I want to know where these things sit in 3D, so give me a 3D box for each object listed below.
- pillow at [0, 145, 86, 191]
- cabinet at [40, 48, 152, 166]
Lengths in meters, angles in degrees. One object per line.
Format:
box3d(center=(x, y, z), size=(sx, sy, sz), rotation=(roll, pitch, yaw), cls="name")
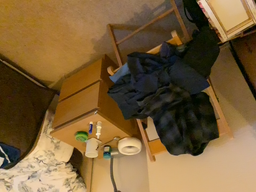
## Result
box3d(center=(-0.790, 0.740, 1.820), size=(0.730, 0.460, 0.140), rotation=(-23, -166, 24), cls="pillow")
box3d(center=(-0.200, 0.120, 1.630), size=(0.490, 0.610, 0.550), rotation=(-23, -134, 24), cls="cabinet")
